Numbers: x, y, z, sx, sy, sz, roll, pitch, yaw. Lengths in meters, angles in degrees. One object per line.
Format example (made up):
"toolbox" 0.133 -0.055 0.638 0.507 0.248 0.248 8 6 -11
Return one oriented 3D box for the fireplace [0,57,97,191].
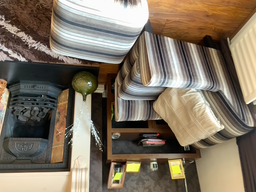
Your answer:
"fireplace" -0.970 0.320 1.920 1.320 1.190 0.580 2 153 -11
